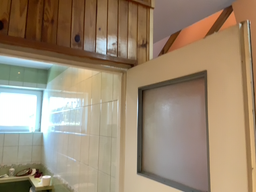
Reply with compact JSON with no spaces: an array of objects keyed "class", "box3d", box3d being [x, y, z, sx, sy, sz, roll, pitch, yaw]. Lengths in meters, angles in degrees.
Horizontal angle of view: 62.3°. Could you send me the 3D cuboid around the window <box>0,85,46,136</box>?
[{"class":"window","box3d":[-1.770,0.260,3.560,0.660,0.800,0.120,6,-9,-32]}]
